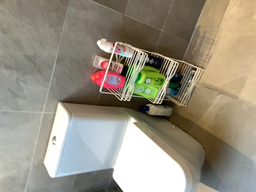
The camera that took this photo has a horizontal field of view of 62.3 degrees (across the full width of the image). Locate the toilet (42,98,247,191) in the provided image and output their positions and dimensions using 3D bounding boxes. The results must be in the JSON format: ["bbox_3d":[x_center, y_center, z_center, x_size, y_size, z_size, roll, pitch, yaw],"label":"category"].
[{"bbox_3d":[0.070,0.350,1.150,0.650,0.810,0.390,33,110,49],"label":"toilet"}]

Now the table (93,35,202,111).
[{"bbox_3d":[0.140,-0.110,1.290,0.190,0.610,0.320,36,112,48],"label":"table"}]
